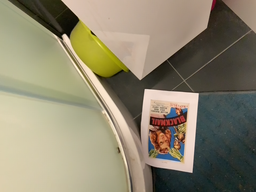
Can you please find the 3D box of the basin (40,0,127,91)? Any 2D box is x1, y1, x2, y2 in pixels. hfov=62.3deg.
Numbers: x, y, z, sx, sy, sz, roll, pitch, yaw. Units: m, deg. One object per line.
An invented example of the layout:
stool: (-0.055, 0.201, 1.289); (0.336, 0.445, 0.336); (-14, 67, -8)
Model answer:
basin: (-0.150, -0.170, 0.820); (0.110, 0.300, 0.240); (-38, 75, 6)
